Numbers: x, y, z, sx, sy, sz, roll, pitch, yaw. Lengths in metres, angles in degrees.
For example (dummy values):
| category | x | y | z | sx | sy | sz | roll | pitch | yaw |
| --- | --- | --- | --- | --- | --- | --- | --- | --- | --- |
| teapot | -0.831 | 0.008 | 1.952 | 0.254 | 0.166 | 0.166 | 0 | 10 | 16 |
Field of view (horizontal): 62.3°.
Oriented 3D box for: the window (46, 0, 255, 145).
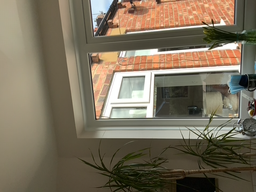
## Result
| category | x | y | z | sx | sy | sz | roll | pitch | yaw |
| --- | --- | --- | --- | --- | --- | --- | --- | --- | --- |
| window | 0.180 | -0.350 | 1.460 | 0.300 | 1.350 | 1.310 | -54 | -39 | -74 |
